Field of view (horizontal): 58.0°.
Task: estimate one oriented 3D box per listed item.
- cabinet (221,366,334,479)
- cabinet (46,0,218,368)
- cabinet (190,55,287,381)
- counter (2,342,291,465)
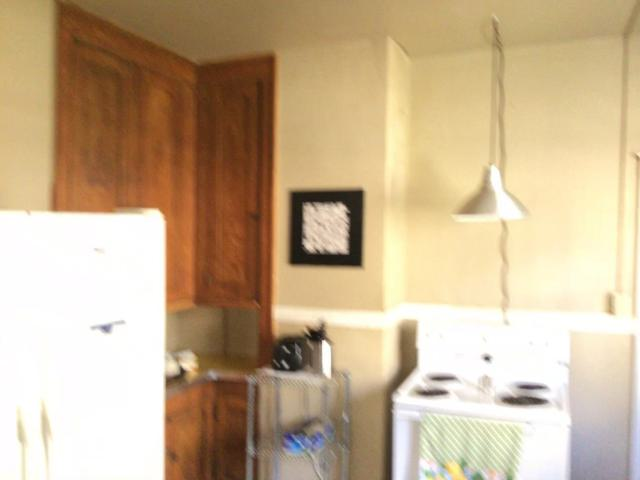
[{"bbox_3d":[-0.250,1.190,3.400,0.620,0.790,0.240,0,-1,23],"label":"cabinet"},{"bbox_3d":[-0.900,-0.270,2.990,0.130,1.630,1.120,0,-1,23],"label":"cabinet"},{"bbox_3d":[-0.480,-0.140,3.400,0.490,1.850,0.080,2,-2,23],"label":"cabinet"},{"bbox_3d":[-0.820,0.810,3.170,0.770,0.220,1.450,0,-1,23],"label":"counter"}]
